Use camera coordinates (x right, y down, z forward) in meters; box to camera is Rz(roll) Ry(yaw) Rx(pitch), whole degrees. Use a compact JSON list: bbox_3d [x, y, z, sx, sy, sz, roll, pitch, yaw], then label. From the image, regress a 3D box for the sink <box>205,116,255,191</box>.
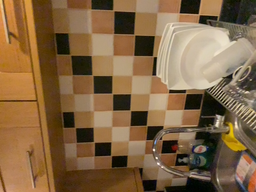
[{"bbox_3d":[0.590,0.400,1.000,0.510,0.160,0.410,-105,17,-66],"label":"sink"}]
